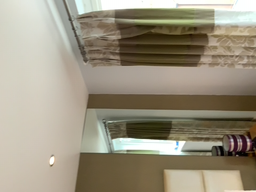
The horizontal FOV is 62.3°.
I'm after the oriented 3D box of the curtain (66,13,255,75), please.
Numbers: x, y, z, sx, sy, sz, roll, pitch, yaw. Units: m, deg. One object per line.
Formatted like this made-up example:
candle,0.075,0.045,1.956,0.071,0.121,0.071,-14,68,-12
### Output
curtain,0.710,-0.360,1.620,0.590,2.210,0.080,88,-176,-63
